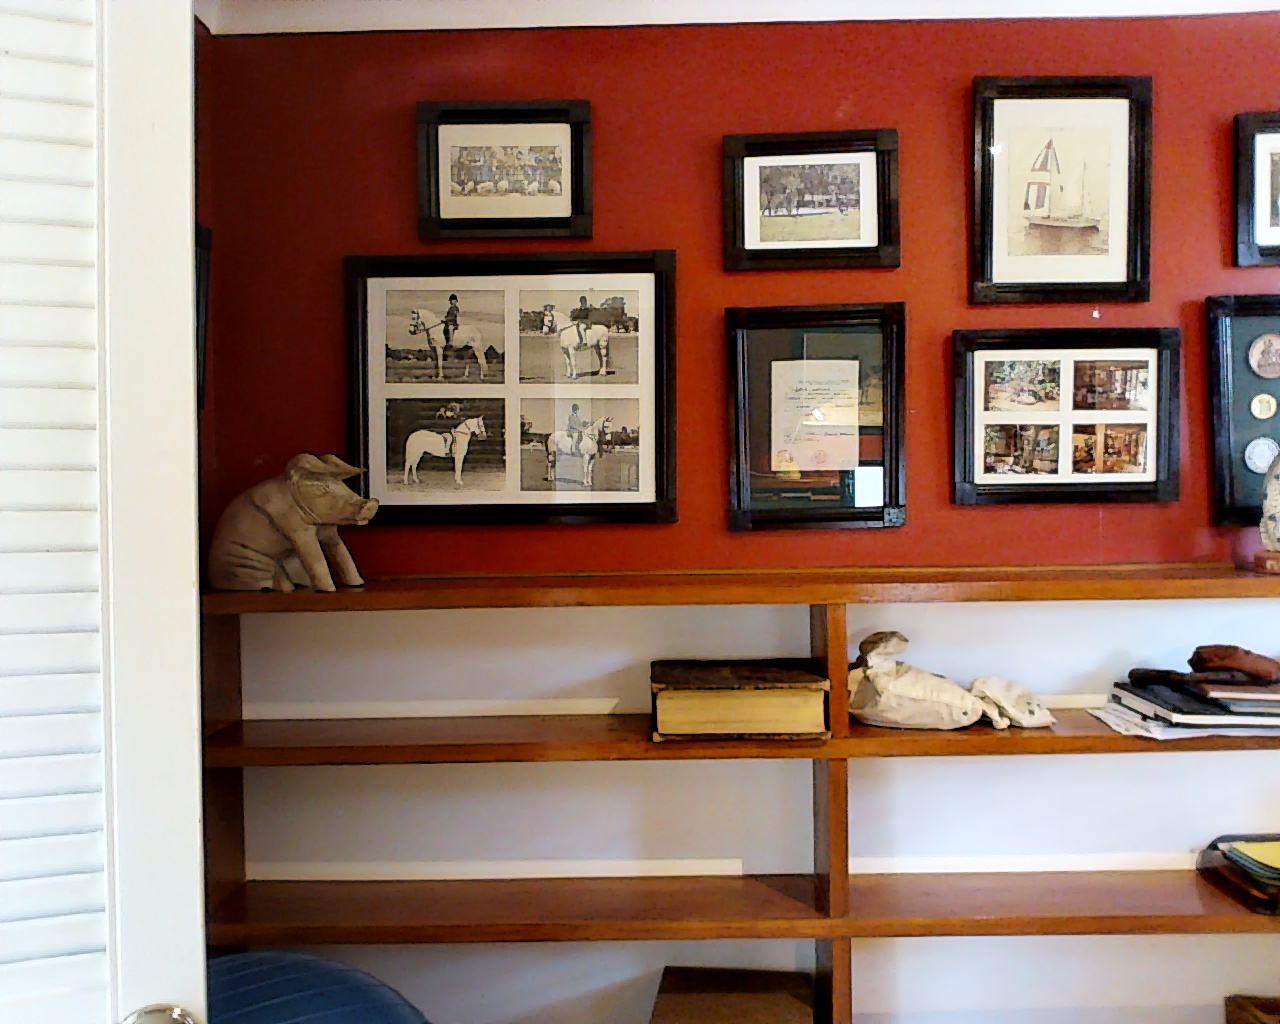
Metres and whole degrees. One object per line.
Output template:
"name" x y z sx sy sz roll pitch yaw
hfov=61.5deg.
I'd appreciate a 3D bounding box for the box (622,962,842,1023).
"box" 0.170 1.020 2.030 0.390 0.220 0.280 -1 1 2
